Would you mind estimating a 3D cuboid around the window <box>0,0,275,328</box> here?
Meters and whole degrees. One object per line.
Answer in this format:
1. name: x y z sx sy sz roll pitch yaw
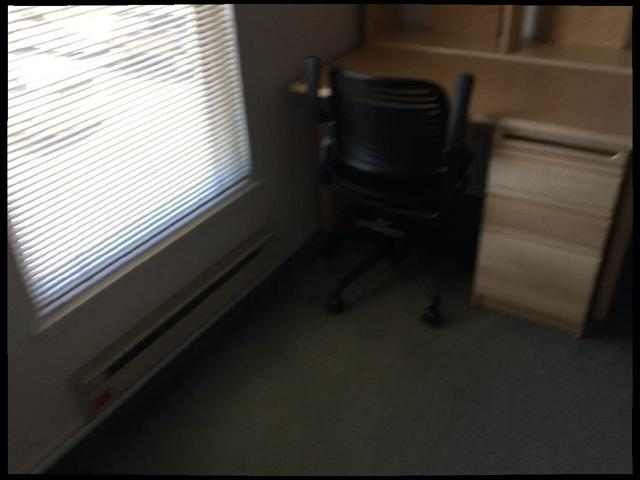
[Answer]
1. window: -0.569 -0.701 1.530 0.200 1.602 1.010 17 39 28
